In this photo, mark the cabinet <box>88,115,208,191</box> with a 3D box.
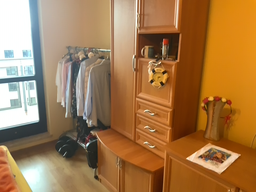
[{"bbox_3d":[0.130,0.690,2.130,0.570,0.620,1.060,-12,20,-39],"label":"cabinet"}]

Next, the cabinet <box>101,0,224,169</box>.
[{"bbox_3d":[0.210,-0.320,1.880,0.430,1.500,0.980,-11,19,-36],"label":"cabinet"}]
